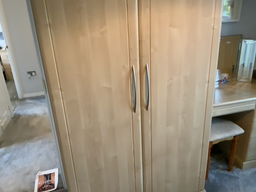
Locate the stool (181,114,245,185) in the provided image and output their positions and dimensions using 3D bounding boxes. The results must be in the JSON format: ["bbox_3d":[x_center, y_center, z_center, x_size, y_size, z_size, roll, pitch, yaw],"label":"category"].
[{"bbox_3d":[0.770,0.480,1.980,0.410,0.470,0.310,-10,23,-17],"label":"stool"}]
